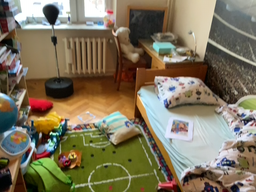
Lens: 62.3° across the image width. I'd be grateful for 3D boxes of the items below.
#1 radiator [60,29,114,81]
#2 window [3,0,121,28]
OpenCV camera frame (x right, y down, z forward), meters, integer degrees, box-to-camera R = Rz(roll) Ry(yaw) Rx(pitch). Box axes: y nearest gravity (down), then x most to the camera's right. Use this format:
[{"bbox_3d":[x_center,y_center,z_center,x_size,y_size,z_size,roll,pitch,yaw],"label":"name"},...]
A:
[{"bbox_3d":[-0.660,-0.670,3.480,0.800,0.780,0.230,-4,30,-15],"label":"radiator"},{"bbox_3d":[-0.910,-1.770,2.990,1.660,1.530,0.160,-4,29,-15],"label":"window"}]
